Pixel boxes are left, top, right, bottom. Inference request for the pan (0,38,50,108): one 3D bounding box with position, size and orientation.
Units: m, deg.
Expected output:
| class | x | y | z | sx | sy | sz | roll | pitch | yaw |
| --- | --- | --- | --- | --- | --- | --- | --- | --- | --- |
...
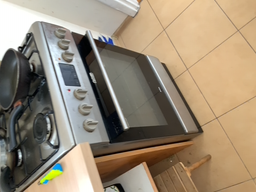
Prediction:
| class | x | y | z | sx | sy | sz | roll | pitch | yaw |
| --- | --- | --- | --- | --- | --- | --- | --- | --- | --- |
| pan | -0.400 | -0.080 | 0.800 | 0.180 | 0.100 | 0.180 | -43 | 59 | 32 |
